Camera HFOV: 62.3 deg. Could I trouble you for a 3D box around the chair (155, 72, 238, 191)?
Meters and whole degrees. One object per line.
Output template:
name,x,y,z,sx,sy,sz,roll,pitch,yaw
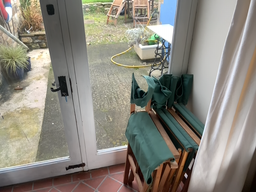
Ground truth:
chair,0.410,0.340,1.540,0.150,0.840,0.590,-8,33,-14

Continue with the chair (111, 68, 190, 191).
chair,0.080,0.360,1.440,0.250,0.910,0.590,-8,33,-14

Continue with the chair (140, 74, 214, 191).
chair,0.270,0.360,1.500,0.150,0.850,0.590,-8,33,-14
